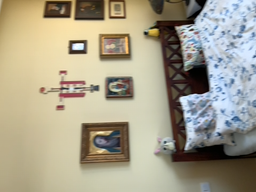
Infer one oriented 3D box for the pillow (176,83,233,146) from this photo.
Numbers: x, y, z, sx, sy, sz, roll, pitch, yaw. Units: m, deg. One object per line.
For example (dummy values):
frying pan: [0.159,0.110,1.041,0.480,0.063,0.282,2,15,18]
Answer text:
pillow: [0.730,0.190,2.060,0.240,0.400,0.510,40,-138,-60]
